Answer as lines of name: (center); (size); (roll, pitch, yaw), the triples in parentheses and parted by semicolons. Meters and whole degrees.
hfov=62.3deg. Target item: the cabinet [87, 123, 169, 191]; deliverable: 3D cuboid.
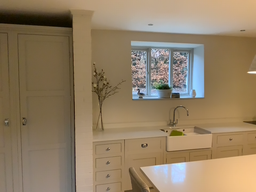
cabinet: (-0.030, 0.960, 3.320); (1.130, 0.900, 0.680); (-2, 5, -15)

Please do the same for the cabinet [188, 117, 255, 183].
cabinet: (1.800, 0.920, 3.850); (1.180, 0.900, 0.650); (-2, 5, -15)
